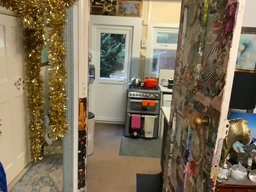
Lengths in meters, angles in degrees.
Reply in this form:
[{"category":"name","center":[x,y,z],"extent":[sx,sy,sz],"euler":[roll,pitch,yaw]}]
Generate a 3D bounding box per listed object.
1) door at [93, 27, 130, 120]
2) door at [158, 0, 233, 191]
[{"category":"door","center":[-0.360,-0.420,4.380],"extent":[0.710,1.870,0.050],"euler":[4,13,3]},{"category":"door","center":[0.370,0.250,1.490],"extent":[0.030,1.940,0.890],"euler":[3,13,-2]}]
